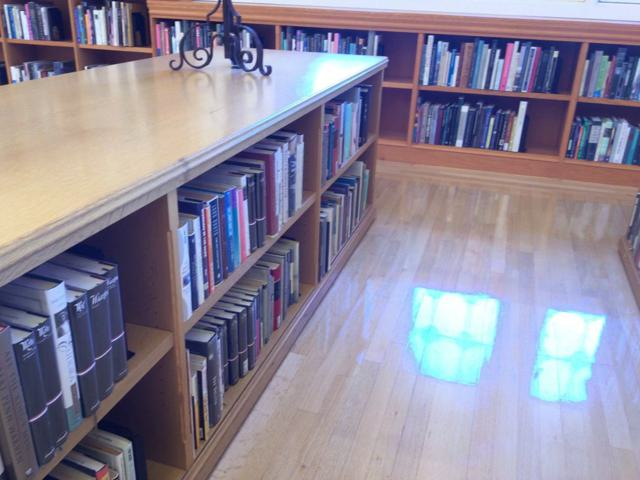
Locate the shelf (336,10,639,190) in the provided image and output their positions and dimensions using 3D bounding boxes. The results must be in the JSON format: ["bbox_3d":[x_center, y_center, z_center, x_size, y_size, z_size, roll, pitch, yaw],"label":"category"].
[{"bbox_3d":[1.290,-0.870,3.500,2.290,0.840,0.500,10,24,16],"label":"shelf"}]
